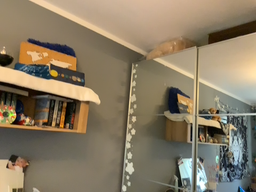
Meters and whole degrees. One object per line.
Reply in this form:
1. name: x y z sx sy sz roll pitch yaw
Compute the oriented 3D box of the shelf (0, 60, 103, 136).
1. shelf: -0.810 0.000 1.250 1.350 0.360 0.360 15 -14 -43
